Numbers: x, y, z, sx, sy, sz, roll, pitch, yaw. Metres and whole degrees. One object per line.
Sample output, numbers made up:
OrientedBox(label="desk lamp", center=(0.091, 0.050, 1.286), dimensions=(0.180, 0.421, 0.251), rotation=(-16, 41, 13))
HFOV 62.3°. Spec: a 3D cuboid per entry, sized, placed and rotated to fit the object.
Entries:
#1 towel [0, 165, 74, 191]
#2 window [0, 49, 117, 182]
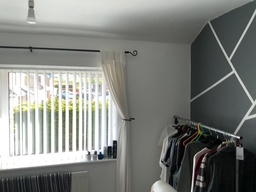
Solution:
OrientedBox(label="towel", center=(-0.950, 0.920, 2.120), dimensions=(0.790, 0.350, 0.110), rotation=(0, 2, -18))
OrientedBox(label="window", center=(-1.230, 0.200, 2.200), dimensions=(2.230, 1.330, 0.150), rotation=(0, 2, -14))
